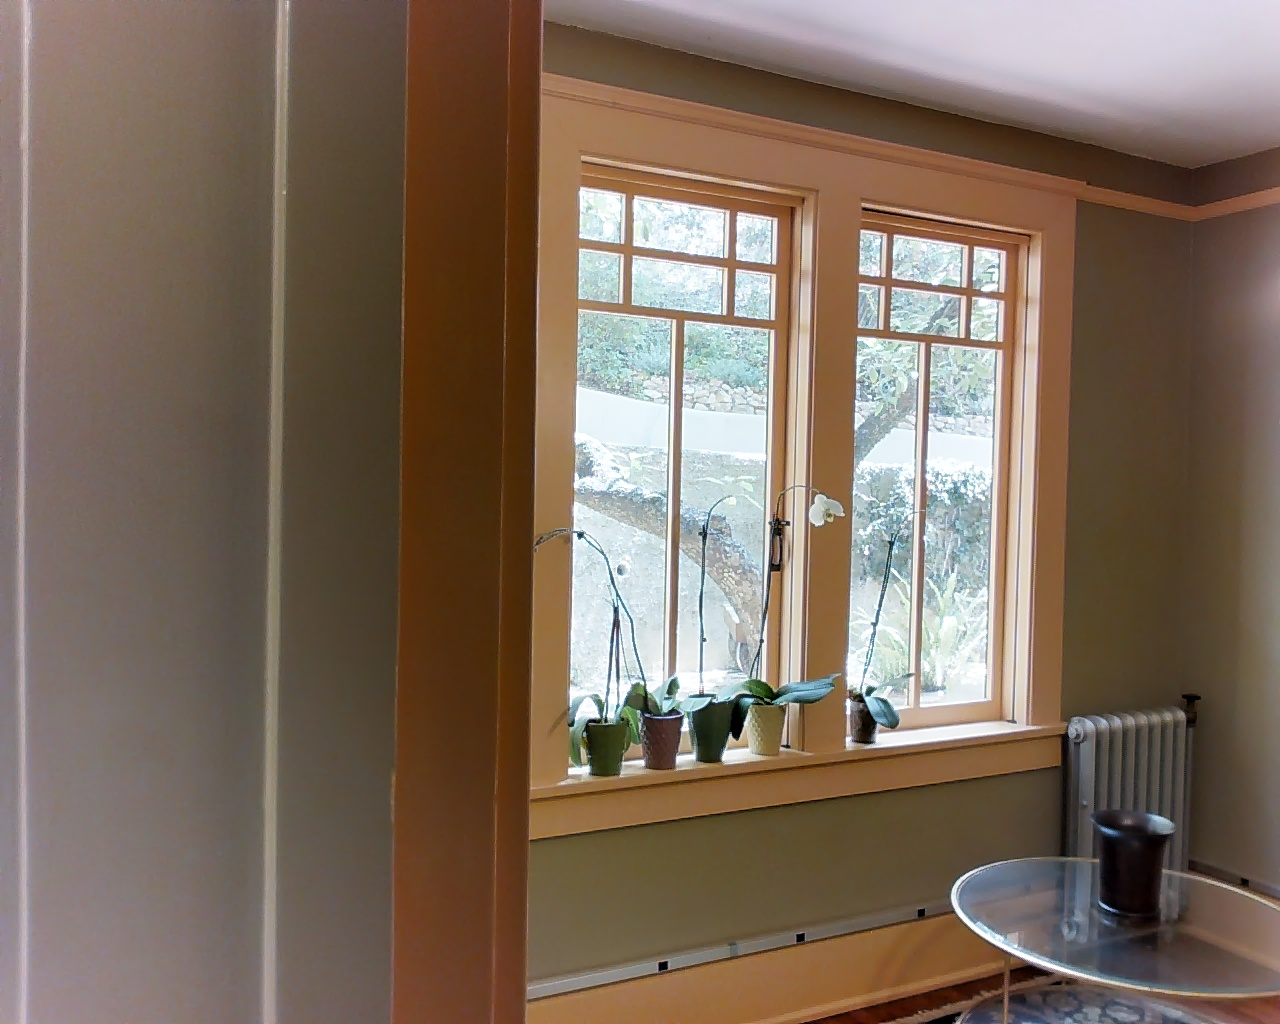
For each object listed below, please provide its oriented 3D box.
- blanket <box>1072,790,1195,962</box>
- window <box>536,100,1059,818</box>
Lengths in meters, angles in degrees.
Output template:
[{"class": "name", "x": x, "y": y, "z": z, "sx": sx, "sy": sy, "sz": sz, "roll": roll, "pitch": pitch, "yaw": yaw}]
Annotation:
[{"class": "blanket", "x": 1.320, "y": 0.960, "z": 2.880, "sx": 0.270, "sy": 0.340, "sz": 0.230, "roll": 1, "pitch": 1, "yaw": 30}, {"class": "window", "x": 0.580, "y": -0.130, "z": 3.340, "sx": 1.870, "sy": 1.930, "sz": 0.060, "roll": 1, "pitch": 1, "yaw": -26}]
